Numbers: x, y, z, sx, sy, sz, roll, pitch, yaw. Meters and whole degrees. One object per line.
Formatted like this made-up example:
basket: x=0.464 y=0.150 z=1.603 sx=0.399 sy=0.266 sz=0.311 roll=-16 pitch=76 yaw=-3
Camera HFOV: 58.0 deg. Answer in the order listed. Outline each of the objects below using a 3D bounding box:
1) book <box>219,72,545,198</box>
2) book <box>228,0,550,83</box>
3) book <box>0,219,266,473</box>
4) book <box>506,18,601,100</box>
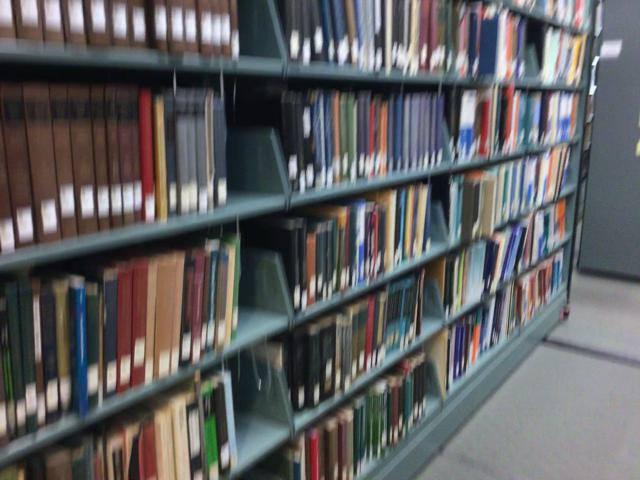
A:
book: x=0.410 y=-0.400 z=2.080 sx=0.260 sy=0.270 sz=1.870 roll=7 pitch=14 yaw=35
book: x=0.400 y=-0.730 z=1.950 sx=0.320 sy=0.290 sz=1.730 roll=7 pitch=14 yaw=33
book: x=-0.460 y=0.150 z=1.060 sx=0.320 sy=0.250 sz=0.740 roll=7 pitch=14 yaw=33
book: x=1.230 y=-0.910 z=3.000 sx=0.260 sy=0.330 sz=0.810 roll=7 pitch=14 yaw=34
